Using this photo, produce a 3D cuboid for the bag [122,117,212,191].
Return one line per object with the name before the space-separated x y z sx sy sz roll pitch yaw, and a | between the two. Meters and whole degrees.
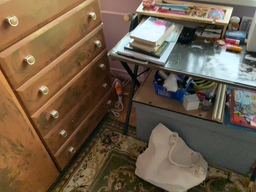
bag | 0.240 0.370 1.290 0.450 0.240 0.320 11 46 16
